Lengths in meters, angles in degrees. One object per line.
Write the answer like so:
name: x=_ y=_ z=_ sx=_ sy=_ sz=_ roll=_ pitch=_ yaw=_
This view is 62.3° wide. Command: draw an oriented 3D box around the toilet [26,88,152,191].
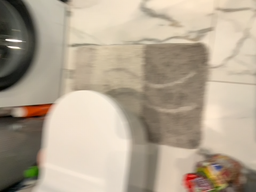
toilet: x=-0.150 y=0.240 z=0.910 sx=0.360 sy=0.350 sz=0.510 roll=8 pitch=95 yaw=22
